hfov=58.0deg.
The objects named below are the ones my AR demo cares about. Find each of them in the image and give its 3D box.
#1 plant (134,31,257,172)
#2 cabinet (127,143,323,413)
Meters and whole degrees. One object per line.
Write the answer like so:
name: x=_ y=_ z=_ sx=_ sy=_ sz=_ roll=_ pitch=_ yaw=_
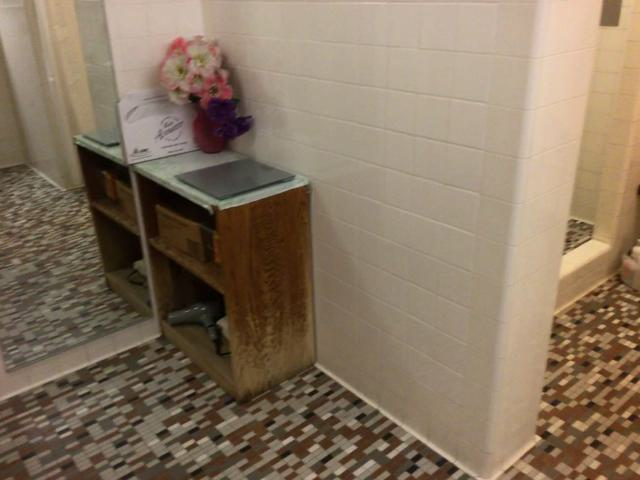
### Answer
plant: x=-0.440 y=-0.510 z=2.070 sx=0.270 sy=0.430 sz=0.310 roll=-19 pitch=28 yaw=-34
cabinet: x=-0.350 y=0.100 z=2.170 sx=0.400 sy=0.770 sz=0.610 roll=-19 pitch=28 yaw=-34
